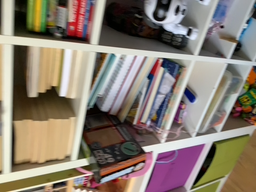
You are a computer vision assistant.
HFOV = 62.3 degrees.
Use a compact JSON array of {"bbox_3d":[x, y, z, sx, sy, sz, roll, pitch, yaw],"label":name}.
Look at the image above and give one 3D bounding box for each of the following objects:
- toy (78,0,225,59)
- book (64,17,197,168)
[{"bbox_3d":[0.060,-0.360,0.670,0.400,0.270,0.340,45,127,47],"label":"toy"},{"bbox_3d":[-0.040,-0.040,0.820,0.420,0.250,0.380,46,128,46],"label":"book"}]
